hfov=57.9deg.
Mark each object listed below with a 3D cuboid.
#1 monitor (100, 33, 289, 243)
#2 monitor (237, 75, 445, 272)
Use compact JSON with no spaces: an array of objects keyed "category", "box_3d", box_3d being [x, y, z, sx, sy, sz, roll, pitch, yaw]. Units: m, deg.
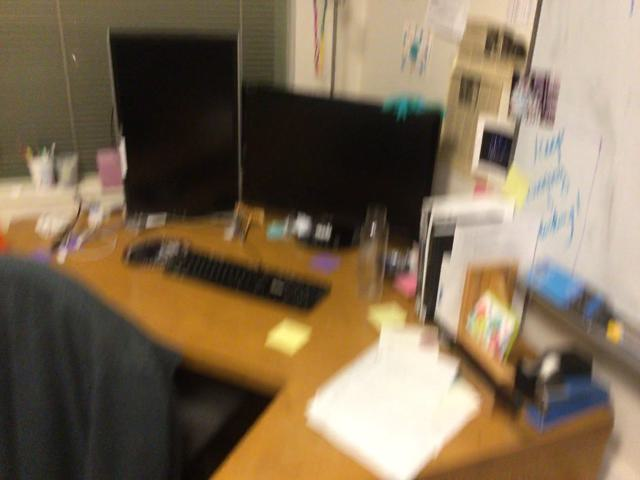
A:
[{"category":"monitor","box_3d":[-0.370,-0.310,1.740,0.490,0.560,0.200,-6,25,-23]},{"category":"monitor","box_3d":[0.040,-0.220,1.720,0.550,0.450,0.220,16,26,28]}]
